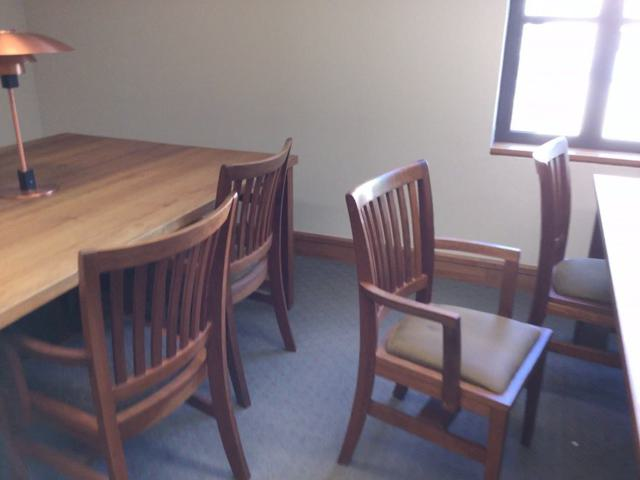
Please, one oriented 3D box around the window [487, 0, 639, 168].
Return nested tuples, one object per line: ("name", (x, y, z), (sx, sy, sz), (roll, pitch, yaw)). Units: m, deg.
("window", (1.730, -0.960, 2.490), (1.820, 1.290, 0.300), (6, 21, 18))
